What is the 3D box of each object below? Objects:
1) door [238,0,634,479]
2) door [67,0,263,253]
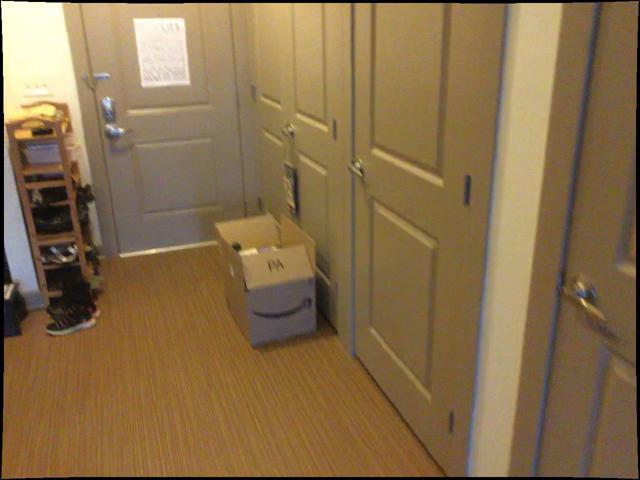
[{"bbox_3d":[0.050,-0.531,2.490,0.140,2.124,2.920,-8,22,-17],"label":"door"},{"bbox_3d":[-0.928,-0.952,3.580,1.018,2.024,0.130,-8,22,-17],"label":"door"}]
